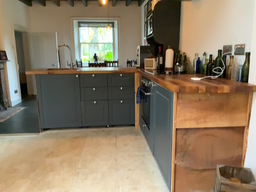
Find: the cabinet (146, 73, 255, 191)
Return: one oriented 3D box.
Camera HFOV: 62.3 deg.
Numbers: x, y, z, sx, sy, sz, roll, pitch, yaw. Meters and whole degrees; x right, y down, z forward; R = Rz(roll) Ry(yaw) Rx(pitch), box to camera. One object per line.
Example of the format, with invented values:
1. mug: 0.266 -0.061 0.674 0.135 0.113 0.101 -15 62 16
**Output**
1. cabinet: 0.560 0.290 1.950 0.640 0.920 0.790 -2 12 -5
